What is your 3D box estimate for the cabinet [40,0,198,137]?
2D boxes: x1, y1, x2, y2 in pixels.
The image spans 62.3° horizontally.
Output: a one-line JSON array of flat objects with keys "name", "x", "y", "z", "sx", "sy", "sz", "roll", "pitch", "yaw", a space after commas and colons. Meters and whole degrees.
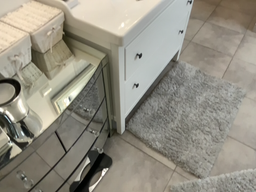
[{"name": "cabinet", "x": 0.050, "y": -0.400, "z": 1.560, "sx": 0.480, "sy": 0.820, "sz": 1.040, "roll": 28, "pitch": 57, "yaw": 19}]
